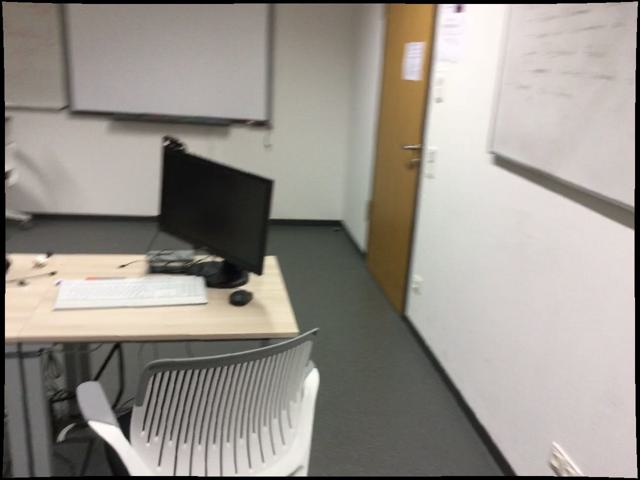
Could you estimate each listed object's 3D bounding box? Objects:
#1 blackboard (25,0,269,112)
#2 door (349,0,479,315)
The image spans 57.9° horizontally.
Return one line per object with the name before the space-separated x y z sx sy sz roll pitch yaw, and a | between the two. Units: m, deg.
blackboard | -1.329 -1.762 4.610 1.798 1.411 0.240 -3 22 -11
door | 0.509 -0.841 3.660 0.230 2.182 1.430 -3 22 -11
